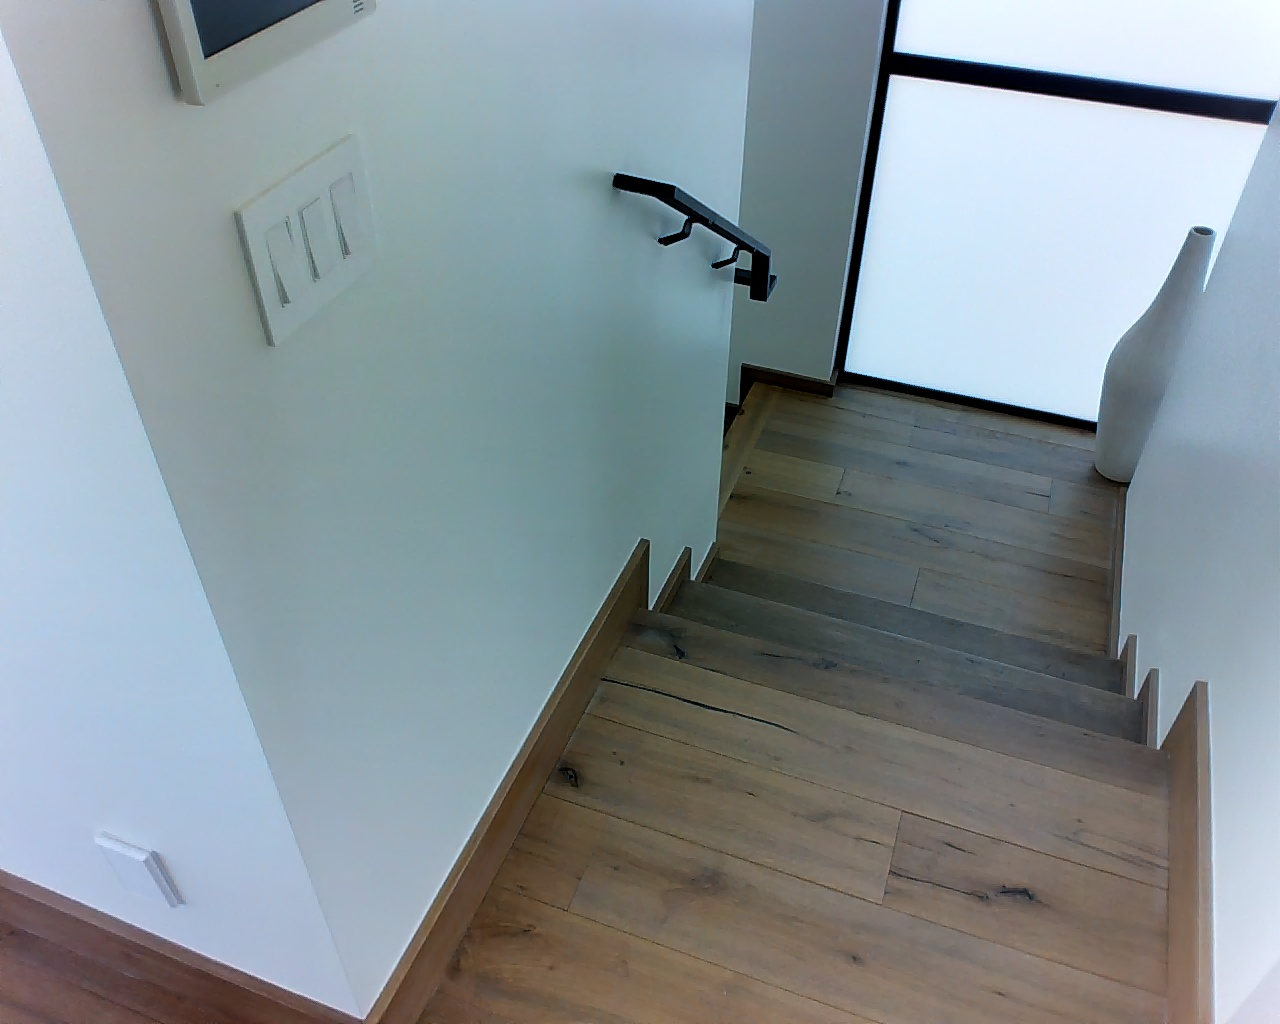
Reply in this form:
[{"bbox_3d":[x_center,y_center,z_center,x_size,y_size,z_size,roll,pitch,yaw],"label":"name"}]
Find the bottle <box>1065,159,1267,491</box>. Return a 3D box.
[{"bbox_3d":[1.520,-0.530,3.160,0.270,0.870,0.350,15,44,16],"label":"bottle"}]
